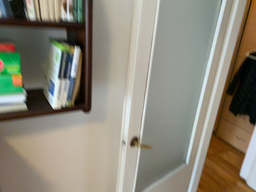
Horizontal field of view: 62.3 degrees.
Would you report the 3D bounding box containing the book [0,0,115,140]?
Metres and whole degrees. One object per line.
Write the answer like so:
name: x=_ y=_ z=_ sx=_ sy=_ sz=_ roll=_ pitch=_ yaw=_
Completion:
book: x=-0.330 y=-0.190 z=0.620 sx=0.480 sy=0.520 sz=0.310 roll=-8 pitch=25 yaw=-31
